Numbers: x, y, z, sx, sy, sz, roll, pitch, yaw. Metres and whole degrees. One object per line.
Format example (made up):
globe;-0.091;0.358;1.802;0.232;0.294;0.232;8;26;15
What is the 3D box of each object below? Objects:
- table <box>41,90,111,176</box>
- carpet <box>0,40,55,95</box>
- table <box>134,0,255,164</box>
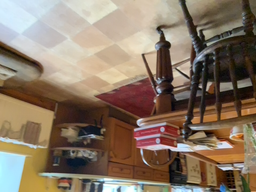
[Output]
table;-0.630;0.500;2.690;0.580;0.920;0.510;-17;151;36
carpet;-1.350;-0.330;1.820;0.740;0.110;1.140;-16;151;34
table;1.190;0.090;1.900;1.130;0.720;2.350;-15;152;33
